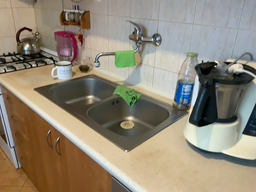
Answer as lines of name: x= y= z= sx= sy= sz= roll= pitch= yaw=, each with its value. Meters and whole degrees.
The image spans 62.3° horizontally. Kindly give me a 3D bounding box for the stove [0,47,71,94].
stove: x=-0.940 y=-0.260 z=1.850 sx=0.630 sy=0.160 sz=0.600 roll=24 pitch=32 yaw=39
